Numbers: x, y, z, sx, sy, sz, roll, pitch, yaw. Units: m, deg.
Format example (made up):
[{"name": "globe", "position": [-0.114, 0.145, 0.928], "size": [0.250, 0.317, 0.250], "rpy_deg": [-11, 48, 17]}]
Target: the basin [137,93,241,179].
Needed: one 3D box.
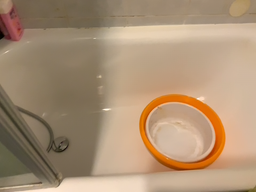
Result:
[{"name": "basin", "position": [0.240, 0.170, 0.960], "size": [0.360, 0.140, 0.340], "rpy_deg": [-2, 52, -4]}]
